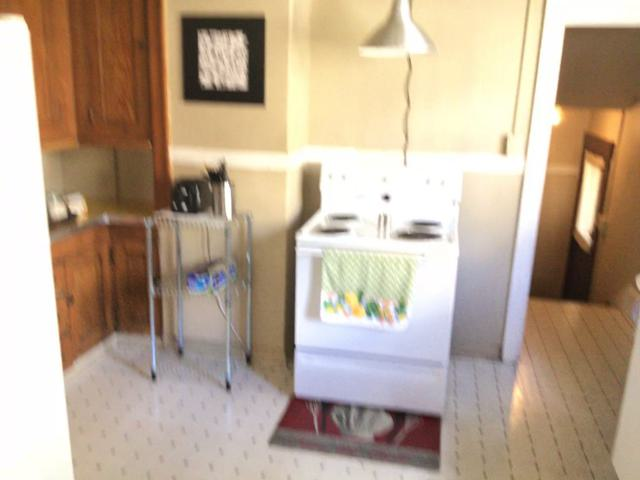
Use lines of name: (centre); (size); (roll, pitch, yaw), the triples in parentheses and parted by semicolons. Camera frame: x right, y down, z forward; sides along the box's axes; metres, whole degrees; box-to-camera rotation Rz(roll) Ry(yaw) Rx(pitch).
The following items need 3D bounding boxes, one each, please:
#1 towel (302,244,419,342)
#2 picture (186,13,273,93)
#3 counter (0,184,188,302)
towel: (0.180, 0.240, 2.670); (0.520, 0.400, 0.080); (4, 15, 12)
picture: (-0.460, -0.950, 2.950); (0.440, 0.380, 0.060); (4, 15, 12)
counter: (-1.370, -0.060, 3.030); (0.770, 0.220, 1.450); (4, 15, 12)
